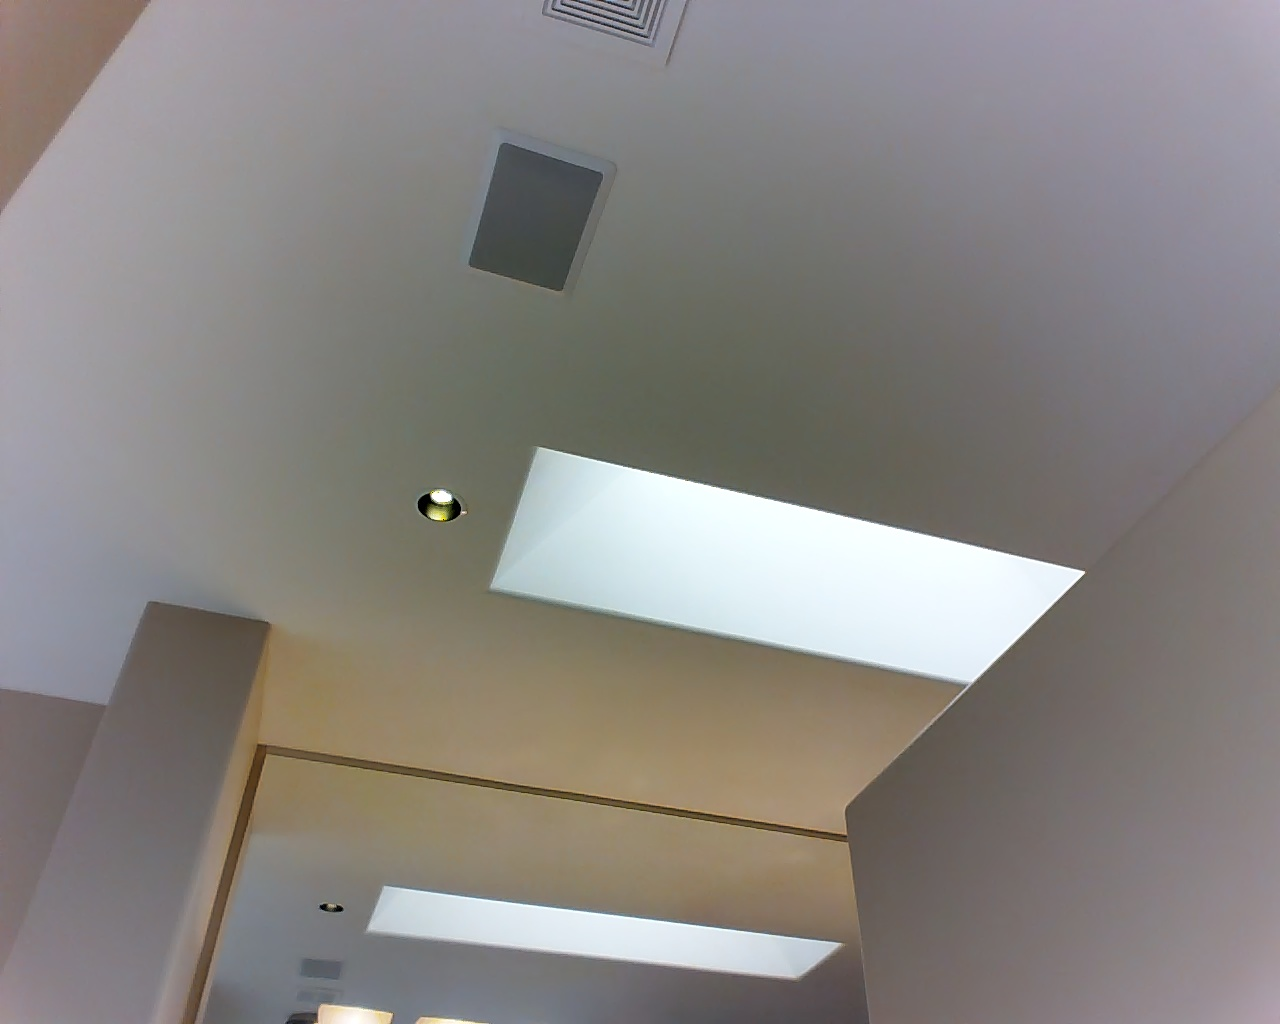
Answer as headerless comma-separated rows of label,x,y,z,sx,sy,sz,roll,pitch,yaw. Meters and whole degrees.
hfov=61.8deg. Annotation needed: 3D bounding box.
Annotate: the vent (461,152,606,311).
vent,-0.190,-0.480,1.860,0.190,0.020,0.260,13,-43,-14
